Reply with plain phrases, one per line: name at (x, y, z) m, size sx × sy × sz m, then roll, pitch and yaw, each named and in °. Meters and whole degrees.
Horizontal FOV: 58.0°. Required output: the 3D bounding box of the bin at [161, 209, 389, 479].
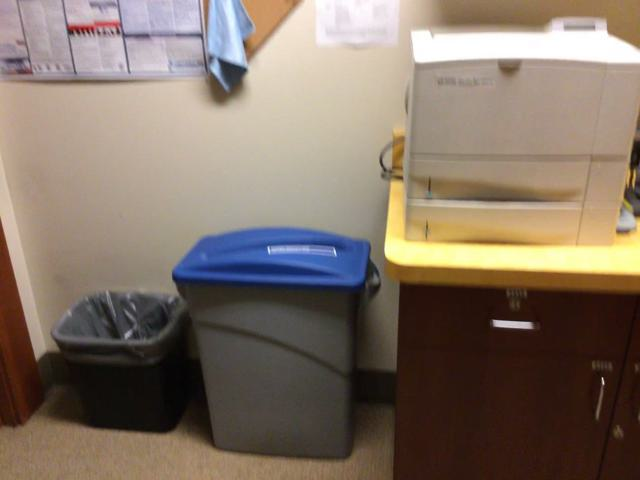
bin at (-0.100, 0.300, 1.740) m, size 0.570 × 0.680 × 0.360 m, roll 3°, pitch 22°, yaw 8°

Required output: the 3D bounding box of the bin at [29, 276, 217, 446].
bin at (-0.610, 0.380, 1.870) m, size 0.450 × 0.420 × 0.280 m, roll 3°, pitch 22°, yaw 8°

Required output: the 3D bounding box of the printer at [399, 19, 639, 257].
printer at (0.380, -0.240, 1.200) m, size 0.400 × 0.400 × 0.410 m, roll 3°, pitch 22°, yaw 8°
